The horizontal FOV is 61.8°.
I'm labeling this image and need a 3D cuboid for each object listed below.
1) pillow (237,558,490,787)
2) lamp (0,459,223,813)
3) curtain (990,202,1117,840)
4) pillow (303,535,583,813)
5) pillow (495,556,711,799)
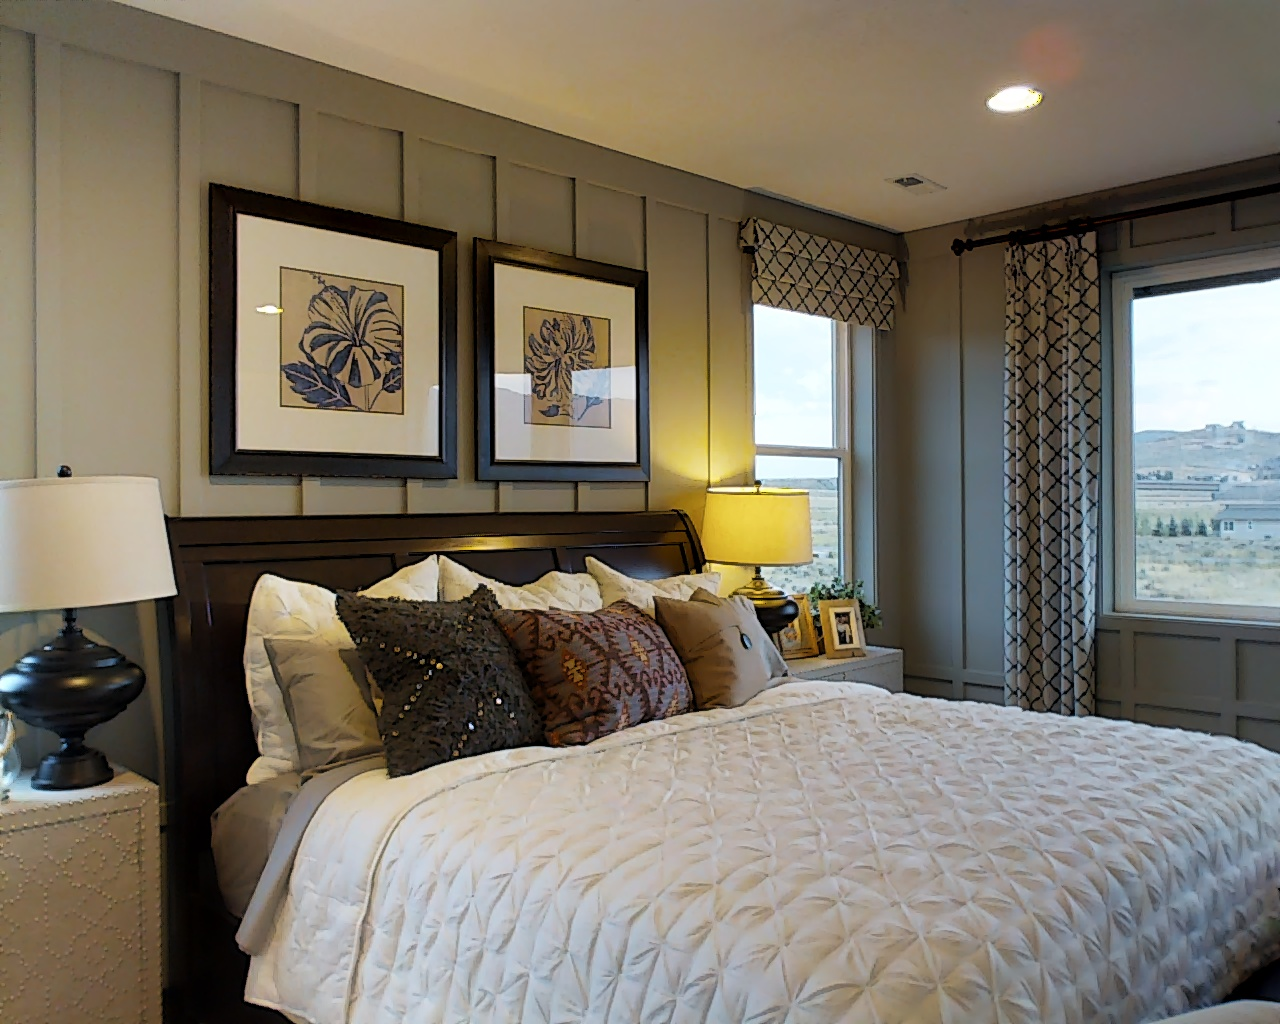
[{"bbox_3d":[-0.730,0.400,2.880,0.610,0.520,0.250,-1,1,-43],"label":"pillow"},{"bbox_3d":[-1.300,0.250,2.490,0.470,0.720,0.450,-1,1,-44],"label":"lamp"},{"bbox_3d":[1.780,0.040,4.620,0.170,2.620,0.470,-1,1,-44],"label":"curtain"},{"bbox_3d":[-0.460,0.370,2.590,0.240,0.450,0.490,0,26,46],"label":"pillow"},{"bbox_3d":[-0.080,0.420,2.810,0.150,0.380,0.510,-1,34,45],"label":"pillow"}]
